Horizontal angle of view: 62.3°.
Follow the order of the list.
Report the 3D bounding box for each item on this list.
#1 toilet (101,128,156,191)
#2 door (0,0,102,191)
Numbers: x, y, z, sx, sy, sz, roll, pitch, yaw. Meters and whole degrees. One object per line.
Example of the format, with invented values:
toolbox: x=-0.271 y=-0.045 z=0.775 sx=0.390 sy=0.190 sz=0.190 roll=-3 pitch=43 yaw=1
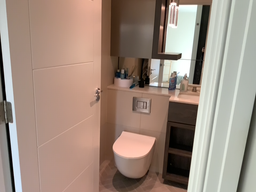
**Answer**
toilet: x=0.020 y=0.640 z=2.090 sx=0.370 sy=0.430 sz=0.500 roll=7 pitch=15 yaw=19
door: x=-0.370 y=-0.010 z=1.320 sx=0.030 sy=2.030 sz=0.820 roll=7 pitch=15 yaw=19
